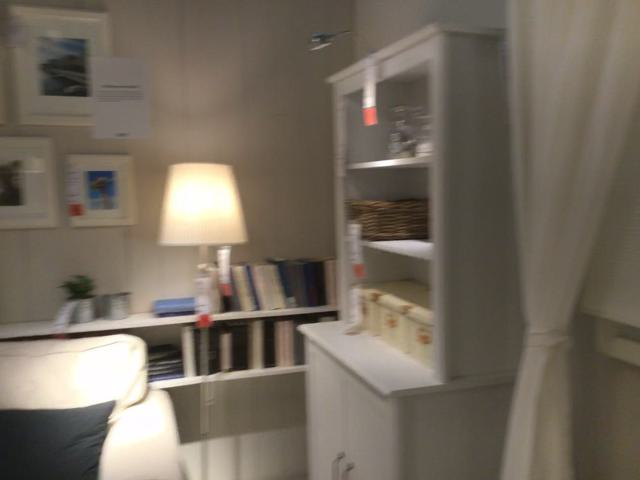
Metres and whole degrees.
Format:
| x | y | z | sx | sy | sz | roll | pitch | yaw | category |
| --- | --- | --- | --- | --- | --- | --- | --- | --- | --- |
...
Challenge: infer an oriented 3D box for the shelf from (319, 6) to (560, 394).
| x | y | z | sx | sy | sz | roll | pitch | yaw | category |
| --- | --- | --- | --- | --- | --- | --- | --- | --- | --- |
| 0.320 | -0.120 | 1.940 | 0.390 | 0.980 | 0.880 | -1 | 4 | -18 | shelf |
